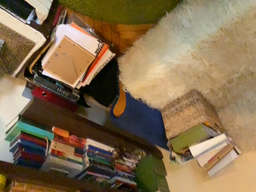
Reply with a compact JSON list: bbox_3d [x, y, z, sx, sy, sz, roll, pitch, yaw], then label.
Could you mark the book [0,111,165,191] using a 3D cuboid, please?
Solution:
[{"bbox_3d":[-0.200,0.440,1.380,1.100,0.270,0.170,28,131,-33],"label":"book"}]
